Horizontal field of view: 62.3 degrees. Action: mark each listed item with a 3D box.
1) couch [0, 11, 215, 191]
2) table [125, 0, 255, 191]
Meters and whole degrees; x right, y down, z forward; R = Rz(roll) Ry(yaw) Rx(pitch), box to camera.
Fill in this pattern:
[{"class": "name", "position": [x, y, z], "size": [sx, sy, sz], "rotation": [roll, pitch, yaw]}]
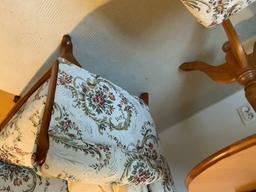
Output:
[{"class": "couch", "position": [-0.160, 0.350, 0.980], "size": [0.810, 0.880, 0.730], "rotation": [29, 131, -36]}, {"class": "table", "position": [0.430, -0.040, 0.740], "size": [0.600, 0.630, 0.600], "rotation": [29, 131, -36]}]
